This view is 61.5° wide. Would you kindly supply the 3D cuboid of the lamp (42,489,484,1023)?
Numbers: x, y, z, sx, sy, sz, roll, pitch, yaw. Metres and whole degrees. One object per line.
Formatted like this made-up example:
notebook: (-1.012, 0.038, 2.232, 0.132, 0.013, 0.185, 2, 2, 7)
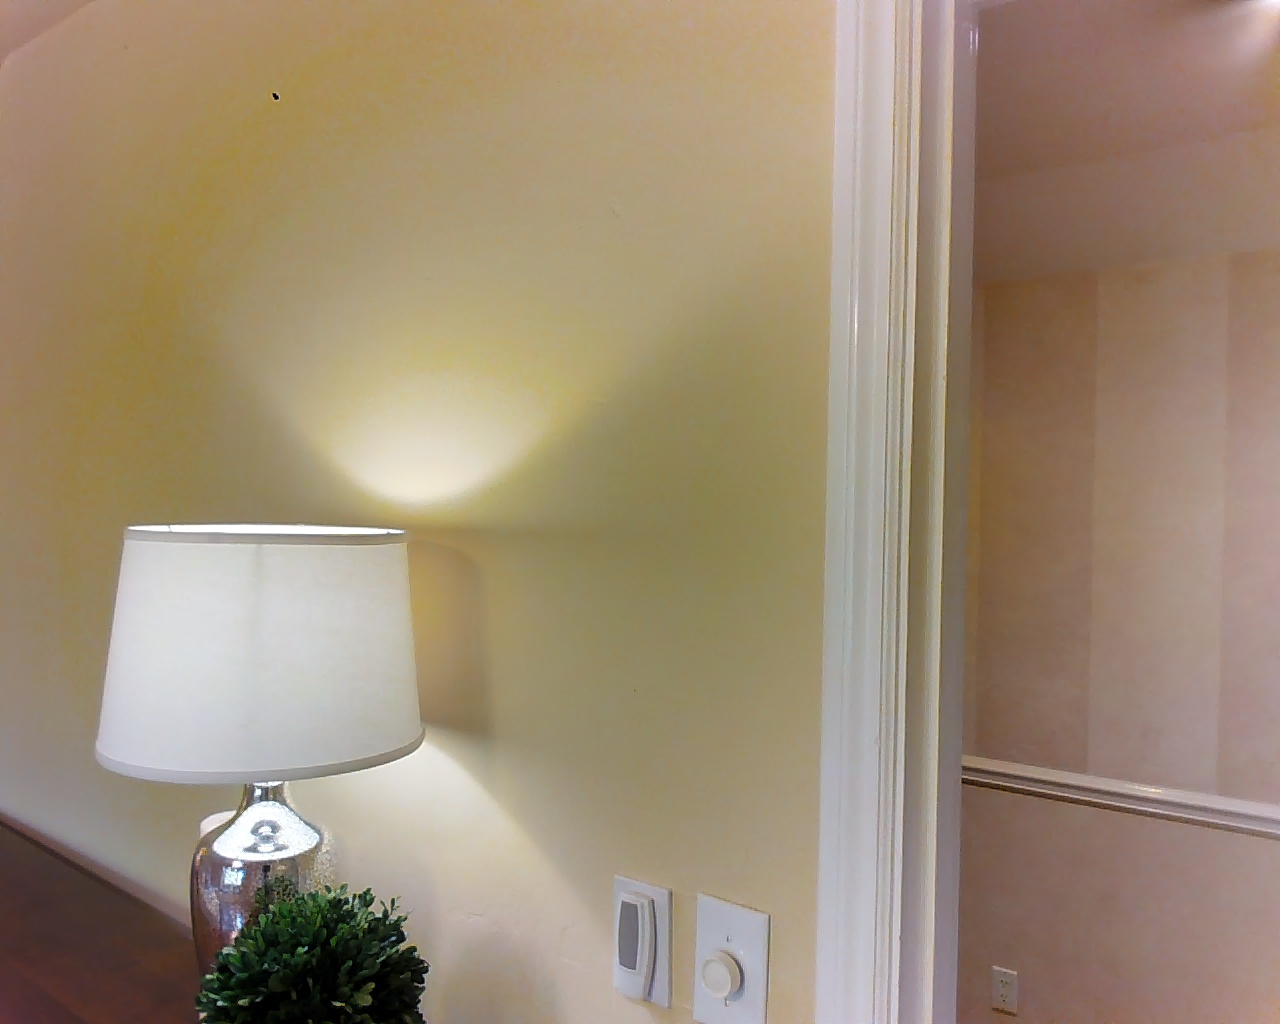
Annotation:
lamp: (-0.400, 0.270, 1.150, 0.320, 0.580, 0.320, 1, 0, 41)
